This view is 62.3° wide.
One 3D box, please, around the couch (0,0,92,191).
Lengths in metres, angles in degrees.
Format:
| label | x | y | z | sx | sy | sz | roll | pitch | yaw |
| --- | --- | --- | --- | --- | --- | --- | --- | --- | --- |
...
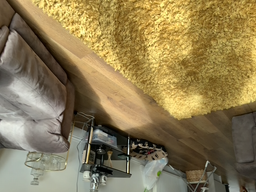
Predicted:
| label | x | y | z | sx | sy | sz | roll | pitch | yaw |
| --- | --- | --- | --- | --- | --- | --- | --- | --- | --- |
| couch | -0.940 | 0.100 | 1.330 | 0.930 | 1.020 | 1.220 | -4 | 149 | 11 |
